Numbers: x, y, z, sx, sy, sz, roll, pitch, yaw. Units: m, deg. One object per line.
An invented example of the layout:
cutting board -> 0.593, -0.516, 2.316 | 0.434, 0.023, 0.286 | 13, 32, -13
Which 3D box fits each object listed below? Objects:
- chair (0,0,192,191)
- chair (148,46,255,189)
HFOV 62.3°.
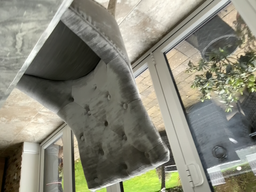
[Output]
chair -> -0.290, -0.170, 0.980 | 0.660, 1.040, 0.580 | 18, 139, -40
chair -> 0.790, 0.260, 2.070 | 0.680, 1.070, 0.730 | -29, 145, 28
